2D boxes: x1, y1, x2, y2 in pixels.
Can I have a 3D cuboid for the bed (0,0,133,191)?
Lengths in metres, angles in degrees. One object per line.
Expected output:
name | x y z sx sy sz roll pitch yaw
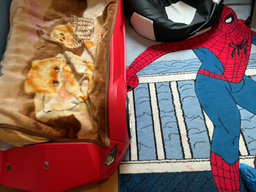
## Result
bed | -0.480 -0.390 1.690 0.940 0.290 2.090 -3 59 2

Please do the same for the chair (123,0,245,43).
chair | 0.410 -0.900 1.900 0.890 0.330 0.760 -3 59 2
